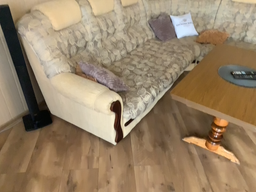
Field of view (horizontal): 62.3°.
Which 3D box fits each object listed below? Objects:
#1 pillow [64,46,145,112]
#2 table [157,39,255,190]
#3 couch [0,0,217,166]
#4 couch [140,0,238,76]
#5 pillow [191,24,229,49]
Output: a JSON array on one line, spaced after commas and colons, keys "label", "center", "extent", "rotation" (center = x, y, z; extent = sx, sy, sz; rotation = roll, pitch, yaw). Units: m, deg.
[{"label": "pillow", "center": [-0.210, -0.180, 1.920], "extent": [0.600, 0.290, 0.370], "rotation": [22, 41, 25]}, {"label": "table", "center": [0.920, 0.030, 1.970], "extent": [0.710, 0.620, 1.240], "rotation": [24, 41, 27]}, {"label": "couch", "center": [-0.010, -0.490, 2.310], "extent": [1.180, 0.990, 1.870], "rotation": [23, 41, 26]}, {"label": "couch", "center": [0.770, -1.040, 3.150], "extent": [0.790, 0.950, 1.100], "rotation": [-10, 38, -16]}, {"label": "pillow", "center": [1.160, -0.850, 2.990], "extent": [0.400, 0.140, 0.410], "rotation": [21, 40, 24]}]
